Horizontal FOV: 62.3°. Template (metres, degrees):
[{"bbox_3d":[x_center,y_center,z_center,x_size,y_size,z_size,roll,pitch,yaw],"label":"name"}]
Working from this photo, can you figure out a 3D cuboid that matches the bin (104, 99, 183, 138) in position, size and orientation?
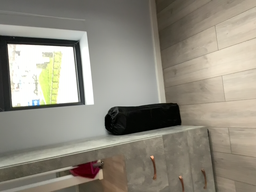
[{"bbox_3d":[0.150,0.190,1.900,0.220,0.680,0.250,-15,81,59],"label":"bin"}]

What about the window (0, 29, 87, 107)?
[{"bbox_3d":[-0.890,-0.230,1.810,0.160,1.040,0.610,-1,92,60],"label":"window"}]

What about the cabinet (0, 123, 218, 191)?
[{"bbox_3d":[-0.240,0.690,1.430,0.540,1.850,0.770,-10,84,60],"label":"cabinet"}]
